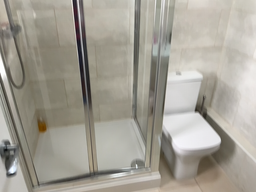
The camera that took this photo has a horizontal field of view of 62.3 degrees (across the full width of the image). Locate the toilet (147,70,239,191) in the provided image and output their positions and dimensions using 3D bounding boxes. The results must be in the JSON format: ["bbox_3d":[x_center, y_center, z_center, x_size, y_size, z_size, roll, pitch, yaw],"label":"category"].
[{"bbox_3d":[0.460,0.270,1.780,0.400,0.780,0.590,-5,29,-11],"label":"toilet"}]
